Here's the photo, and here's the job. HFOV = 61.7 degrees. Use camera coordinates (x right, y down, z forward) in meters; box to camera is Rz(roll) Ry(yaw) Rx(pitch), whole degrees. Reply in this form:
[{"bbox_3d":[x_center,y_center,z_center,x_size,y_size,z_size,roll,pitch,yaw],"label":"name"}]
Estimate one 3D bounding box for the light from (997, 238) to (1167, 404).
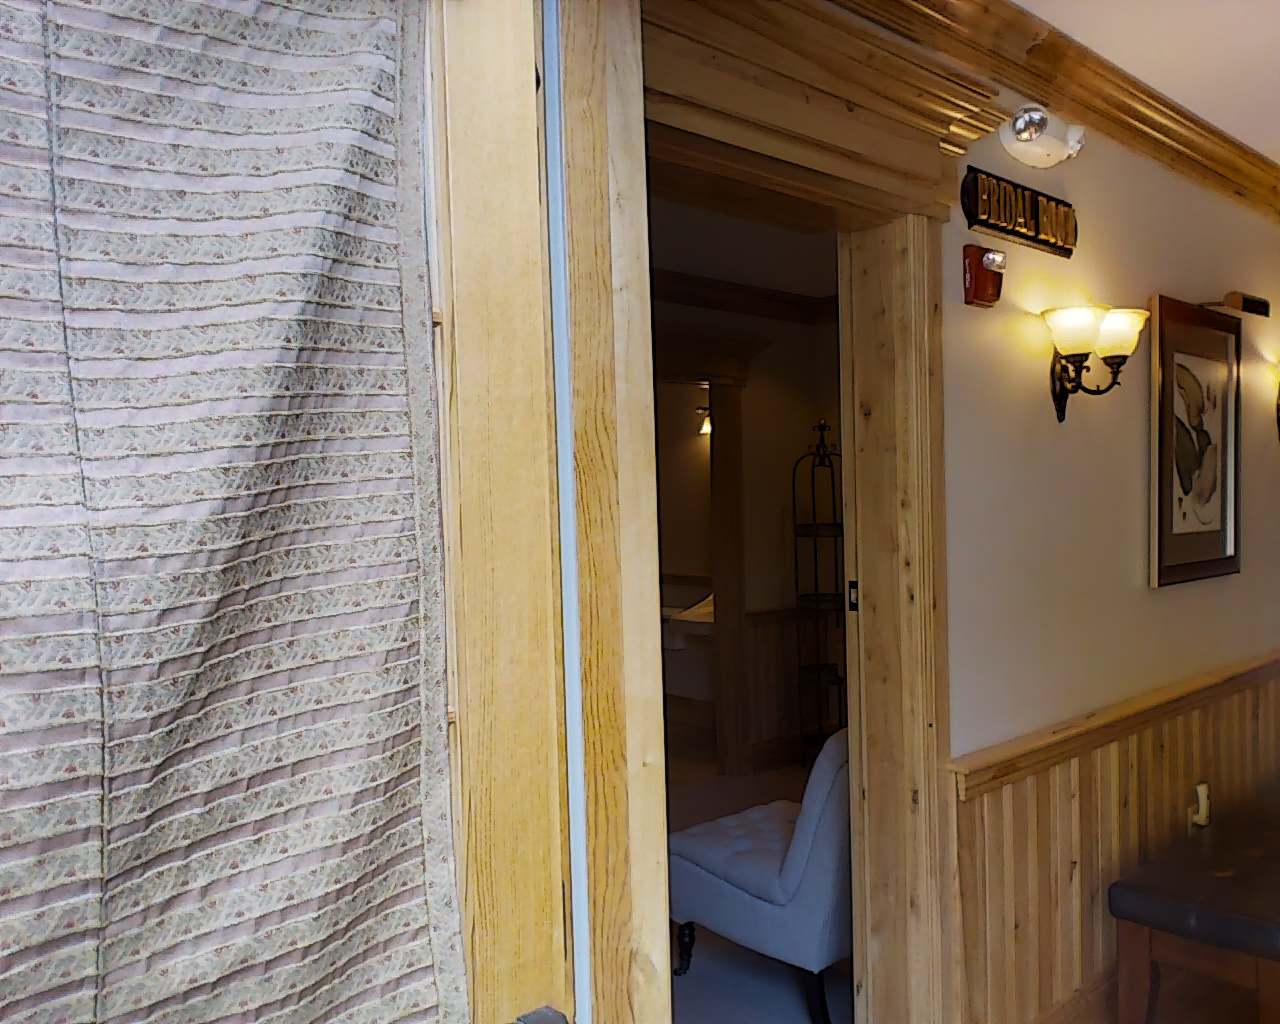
[{"bbox_3d":[1.170,-0.480,2.810,0.560,0.360,0.200,-3,2,-44],"label":"light"}]
